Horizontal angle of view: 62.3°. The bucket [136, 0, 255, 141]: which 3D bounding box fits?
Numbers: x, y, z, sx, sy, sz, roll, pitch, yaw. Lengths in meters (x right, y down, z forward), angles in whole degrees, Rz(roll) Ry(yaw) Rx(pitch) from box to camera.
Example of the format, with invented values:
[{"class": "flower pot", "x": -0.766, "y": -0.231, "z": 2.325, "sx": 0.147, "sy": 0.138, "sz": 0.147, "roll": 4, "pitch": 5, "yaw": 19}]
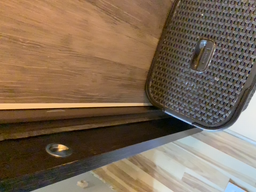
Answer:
[{"class": "bucket", "x": 0.370, "y": -0.110, "z": 0.880, "sx": 0.310, "sy": 0.550, "sz": 0.410, "roll": 28, "pitch": 104, "yaw": 32}]
